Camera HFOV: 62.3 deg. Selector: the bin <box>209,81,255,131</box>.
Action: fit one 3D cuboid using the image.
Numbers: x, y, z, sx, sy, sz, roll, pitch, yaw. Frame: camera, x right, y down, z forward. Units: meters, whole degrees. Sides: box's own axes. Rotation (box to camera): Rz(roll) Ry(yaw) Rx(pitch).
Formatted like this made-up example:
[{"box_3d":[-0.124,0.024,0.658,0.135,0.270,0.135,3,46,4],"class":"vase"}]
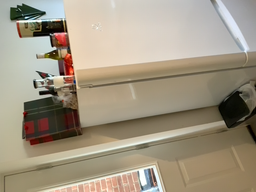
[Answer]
[{"box_3d":[0.920,0.060,1.560,0.360,0.460,0.200,109,150,-60],"class":"bin"}]
